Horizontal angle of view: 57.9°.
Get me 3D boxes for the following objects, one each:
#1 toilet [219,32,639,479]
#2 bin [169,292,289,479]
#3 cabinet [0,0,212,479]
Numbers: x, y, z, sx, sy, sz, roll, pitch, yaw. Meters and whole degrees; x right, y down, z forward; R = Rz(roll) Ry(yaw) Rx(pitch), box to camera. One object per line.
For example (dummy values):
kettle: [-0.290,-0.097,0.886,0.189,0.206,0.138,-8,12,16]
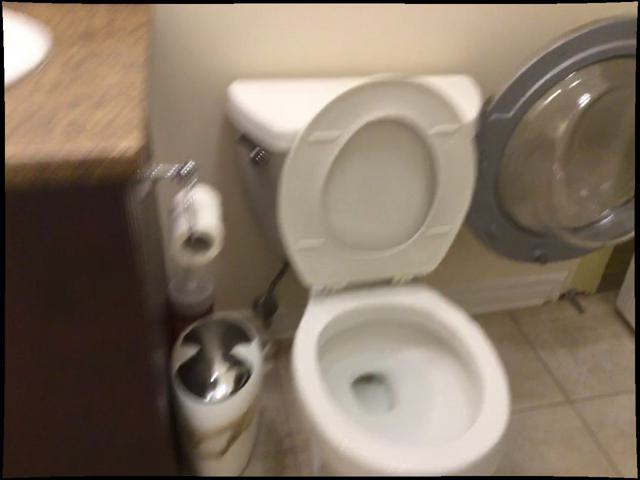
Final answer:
toilet: [0.110,0.110,1.090,0.510,0.770,0.700,-5,37,-12]
bin: [-0.190,0.310,1.180,0.200,0.290,0.260,-5,37,-12]
cabinet: [-0.619,0.070,0.930,0.819,0.921,0.570,-5,37,-12]
